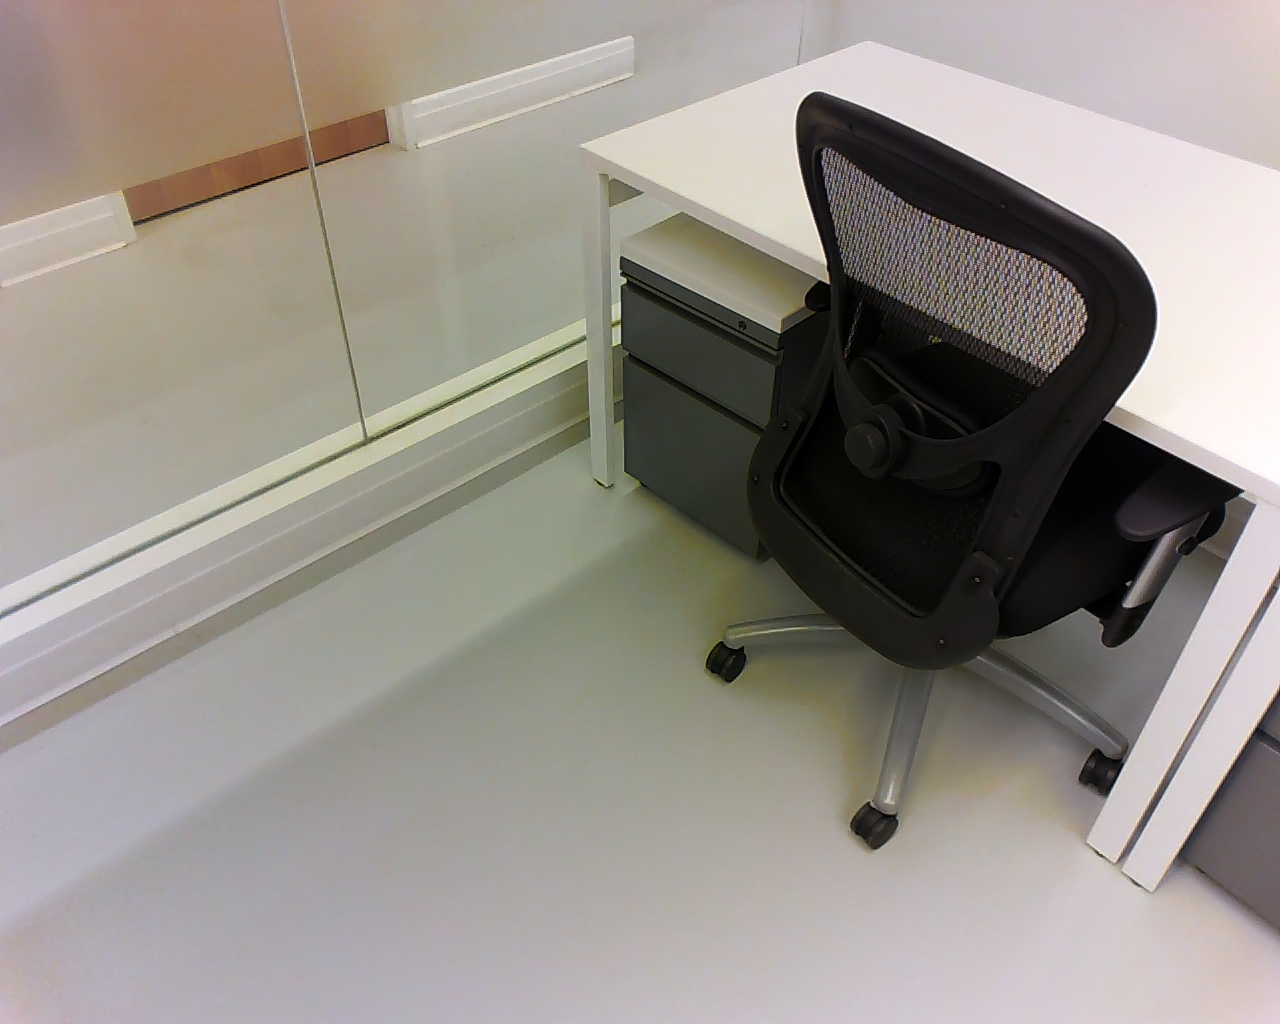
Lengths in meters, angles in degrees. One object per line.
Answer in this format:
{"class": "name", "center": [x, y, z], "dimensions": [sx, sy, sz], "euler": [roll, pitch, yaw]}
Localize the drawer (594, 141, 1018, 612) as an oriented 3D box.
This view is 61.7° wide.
{"class": "drawer", "center": [0.290, -0.280, 2.080], "dimensions": [0.530, 0.590, 0.520], "euler": [-31, 51, -30]}
